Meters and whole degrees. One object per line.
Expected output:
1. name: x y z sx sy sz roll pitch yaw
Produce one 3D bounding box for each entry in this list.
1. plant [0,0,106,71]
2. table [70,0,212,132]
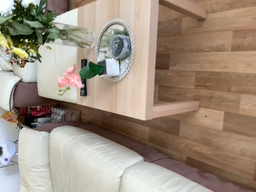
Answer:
1. plant: -0.390 -0.300 0.990 0.290 0.470 0.330 13 102 45
2. table: 0.040 -0.200 1.200 0.600 0.460 0.590 13 102 45
